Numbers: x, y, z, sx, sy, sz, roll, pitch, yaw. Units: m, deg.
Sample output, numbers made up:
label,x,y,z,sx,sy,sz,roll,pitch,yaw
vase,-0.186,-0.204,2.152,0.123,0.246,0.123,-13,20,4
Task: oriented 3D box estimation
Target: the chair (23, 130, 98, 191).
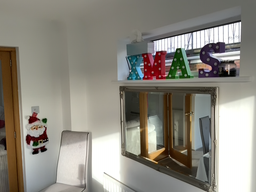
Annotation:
label,x,y,z,sx,sy,sz,roll,pitch,yaw
chair,-0.690,0.950,2.310,0.460,0.990,0.620,1,5,23
